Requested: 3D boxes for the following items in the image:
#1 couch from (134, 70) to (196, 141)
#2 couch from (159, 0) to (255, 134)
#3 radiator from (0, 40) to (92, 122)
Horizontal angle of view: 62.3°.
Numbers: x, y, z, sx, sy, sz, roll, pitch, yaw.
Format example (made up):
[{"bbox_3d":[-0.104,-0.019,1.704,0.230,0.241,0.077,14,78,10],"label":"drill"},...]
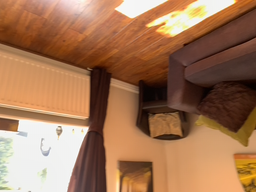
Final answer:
[{"bbox_3d":[0.500,0.170,2.920,0.630,0.780,0.550,-11,158,30],"label":"couch"},{"bbox_3d":[1.310,-0.260,1.670,0.970,0.780,1.930,15,156,-36],"label":"couch"},{"bbox_3d":[-1.120,-0.180,2.020,1.640,0.640,0.110,14,157,-35],"label":"radiator"}]
